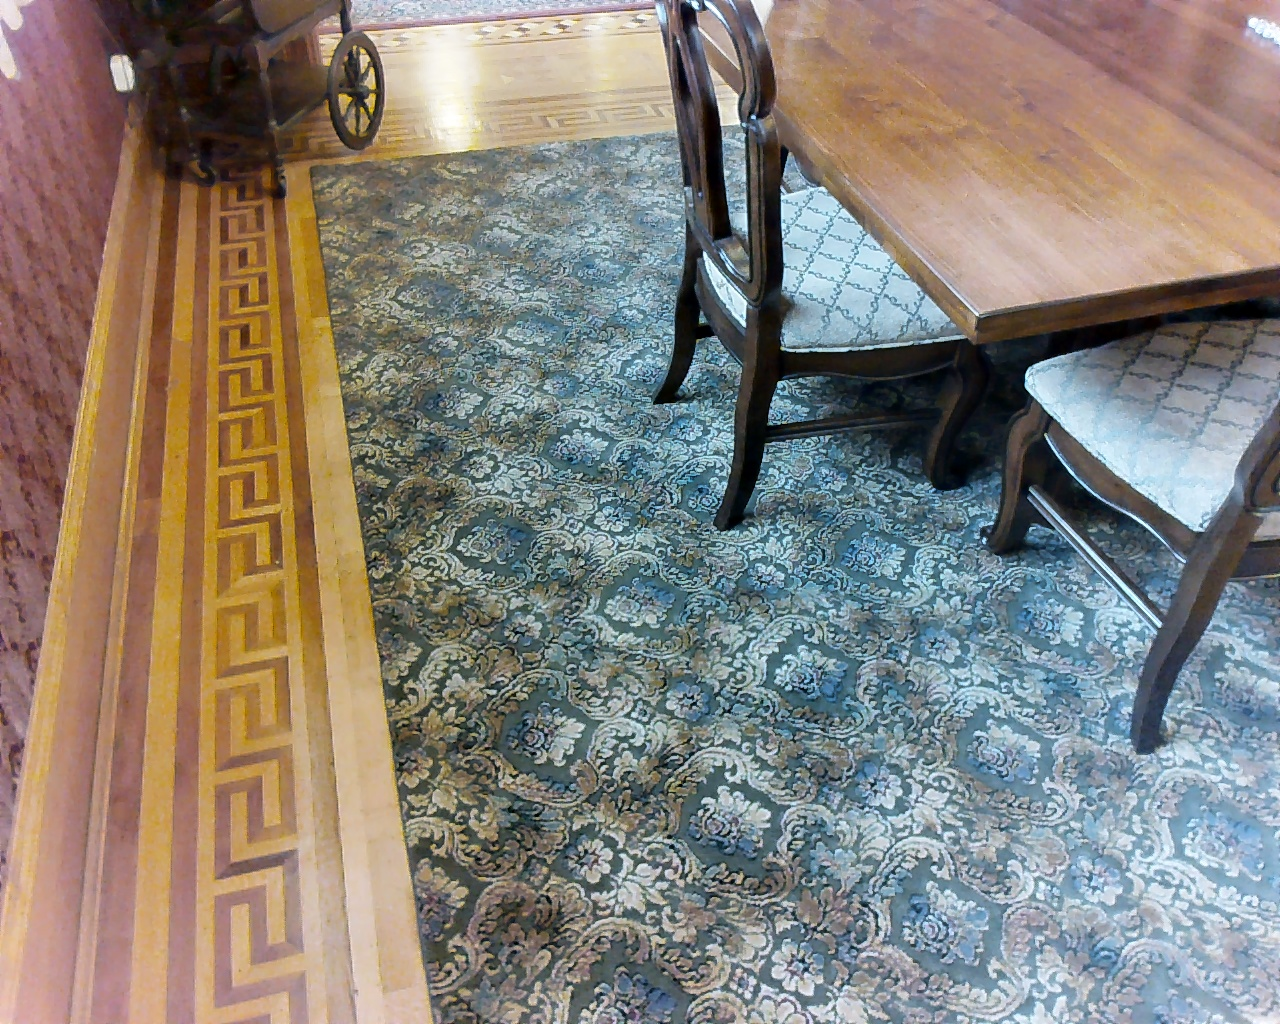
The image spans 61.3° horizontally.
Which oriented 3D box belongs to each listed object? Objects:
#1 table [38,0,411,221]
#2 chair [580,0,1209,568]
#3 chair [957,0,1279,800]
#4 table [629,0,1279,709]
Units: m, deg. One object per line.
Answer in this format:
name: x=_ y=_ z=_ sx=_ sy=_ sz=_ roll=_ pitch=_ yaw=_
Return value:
table: x=-1.210 y=-1.490 z=3.240 sx=0.630 sy=0.830 sz=0.830 roll=11 pitch=44 yaw=11
chair: x=0.370 y=-0.580 z=2.070 sx=0.820 sy=1.100 sz=0.650 roll=-11 pitch=44 yaw=-11
chair: x=1.040 y=-0.210 z=1.670 sx=0.620 sy=1.110 sz=0.660 roll=-11 pitch=44 yaw=-11
table: x=2.170 y=-0.790 z=2.560 sx=4.160 sy=0.800 sz=1.430 roll=-11 pitch=44 yaw=-11
